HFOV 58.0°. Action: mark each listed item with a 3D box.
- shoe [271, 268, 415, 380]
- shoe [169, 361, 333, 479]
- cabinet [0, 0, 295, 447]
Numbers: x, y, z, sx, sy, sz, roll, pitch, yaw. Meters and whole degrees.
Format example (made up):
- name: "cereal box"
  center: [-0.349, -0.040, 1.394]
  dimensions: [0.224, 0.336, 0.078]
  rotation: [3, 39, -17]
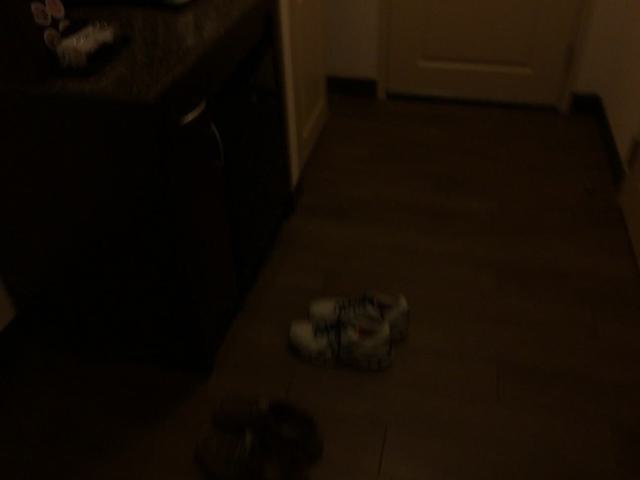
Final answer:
- name: "shoe"
  center: [0.080, 0.250, 1.810]
  dimensions: [0.380, 0.140, 0.280]
  rotation: [8, 33, 16]
- name: "shoe"
  center: [-0.170, 0.500, 1.550]
  dimensions: [0.340, 0.120, 0.290]
  rotation: [8, 33, 16]
- name: "cabinet"
  center: [-0.590, -0.600, 1.440]
  dimensions: [0.680, 2.000, 0.930]
  rotation: [8, 33, 16]
